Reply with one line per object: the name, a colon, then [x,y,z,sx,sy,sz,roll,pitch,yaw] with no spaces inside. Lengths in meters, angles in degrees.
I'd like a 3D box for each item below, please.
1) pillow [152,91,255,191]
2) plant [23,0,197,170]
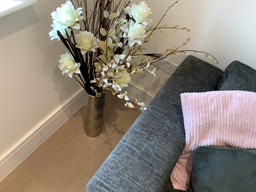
pillow: [0.460,0.240,0.900,0.580,0.560,0.180,-11,48,19]
plant: [-0.080,-0.180,1.130,0.470,1.170,0.570,31,52,13]
